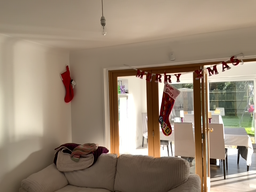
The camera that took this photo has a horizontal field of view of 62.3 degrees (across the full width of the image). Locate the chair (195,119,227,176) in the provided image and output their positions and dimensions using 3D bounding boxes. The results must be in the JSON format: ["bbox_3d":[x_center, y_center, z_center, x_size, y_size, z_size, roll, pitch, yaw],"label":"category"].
[{"bbox_3d":[1.690,1.020,4.350,0.380,1.010,0.530,-2,1,-11],"label":"chair"}]
